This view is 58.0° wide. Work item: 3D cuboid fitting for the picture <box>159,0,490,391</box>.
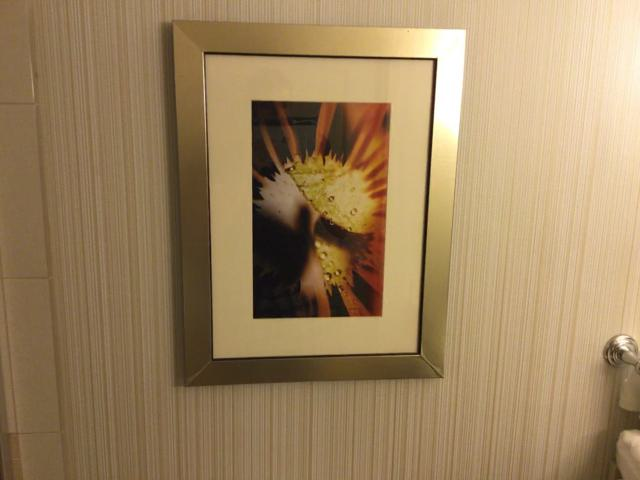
[{"bbox_3d":[0.000,-0.060,1.020,0.520,0.680,0.070,1,14,-4],"label":"picture"}]
